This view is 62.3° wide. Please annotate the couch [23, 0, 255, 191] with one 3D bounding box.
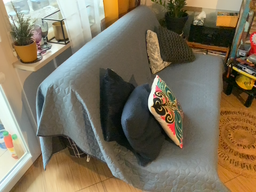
[{"bbox_3d":[0.280,-0.150,1.900,1.100,0.870,1.820,13,40,16],"label":"couch"}]
